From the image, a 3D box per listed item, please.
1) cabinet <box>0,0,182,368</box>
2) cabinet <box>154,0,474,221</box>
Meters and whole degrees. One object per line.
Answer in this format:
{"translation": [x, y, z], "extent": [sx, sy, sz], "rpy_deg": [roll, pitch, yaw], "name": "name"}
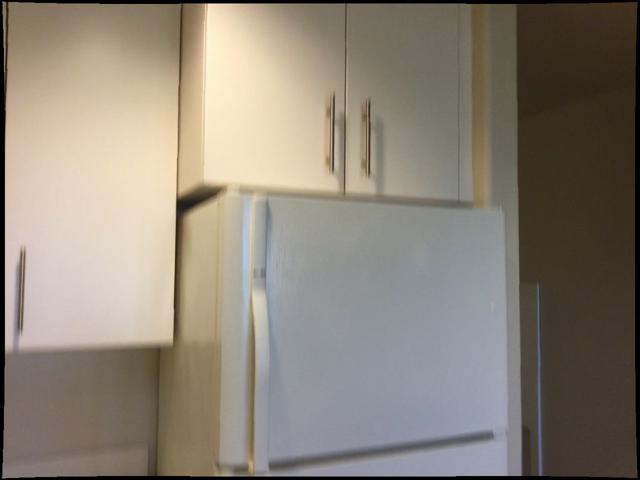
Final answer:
{"translation": [-0.838, -0.261, 1.450], "extent": [0.938, 1.143, 0.140], "rpy_deg": [1, -1, -24], "name": "cabinet"}
{"translation": [-0.010, -0.441, 1.700], "extent": [0.878, 0.732, 0.340], "rpy_deg": [1, -1, -24], "name": "cabinet"}
